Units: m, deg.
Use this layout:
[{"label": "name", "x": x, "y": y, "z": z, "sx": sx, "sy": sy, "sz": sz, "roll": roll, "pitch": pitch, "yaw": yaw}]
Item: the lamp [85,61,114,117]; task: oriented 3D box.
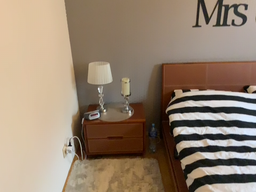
[{"label": "lamp", "x": -0.280, "y": -0.070, "z": 2.170, "sx": 0.240, "sy": 0.540, "sz": 0.200, "roll": -1, "pitch": 24, "yaw": 0}]
